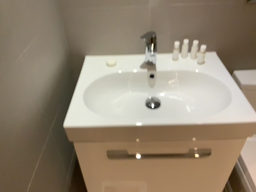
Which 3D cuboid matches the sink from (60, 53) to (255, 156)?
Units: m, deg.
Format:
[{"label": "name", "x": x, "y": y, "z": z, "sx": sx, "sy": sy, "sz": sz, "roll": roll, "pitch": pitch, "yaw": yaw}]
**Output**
[{"label": "sink", "x": 0.110, "y": 0.010, "z": 0.900, "sx": 0.650, "sy": 0.180, "sz": 0.440, "roll": -1, "pitch": 39, "yaw": 1}]
